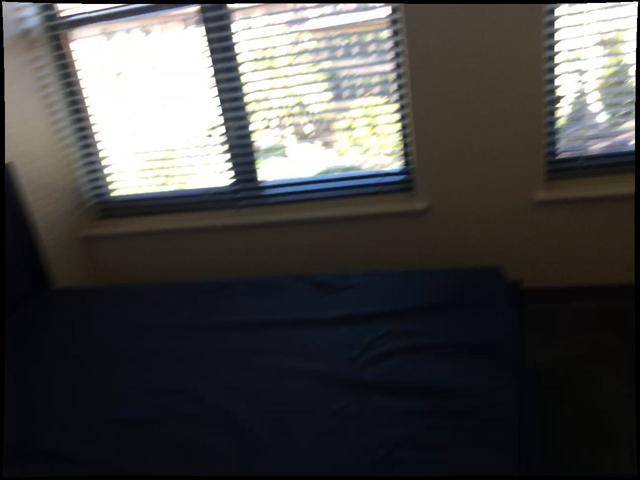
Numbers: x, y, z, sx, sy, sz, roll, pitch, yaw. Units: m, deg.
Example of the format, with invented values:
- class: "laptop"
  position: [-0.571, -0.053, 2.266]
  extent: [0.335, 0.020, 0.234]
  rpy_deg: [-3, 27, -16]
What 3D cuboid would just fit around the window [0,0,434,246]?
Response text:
- class: "window"
  position: [-0.450, -0.731, 2.650]
  extent: [1.768, 1.371, 0.380]
  rpy_deg: [-4, 25, 16]
